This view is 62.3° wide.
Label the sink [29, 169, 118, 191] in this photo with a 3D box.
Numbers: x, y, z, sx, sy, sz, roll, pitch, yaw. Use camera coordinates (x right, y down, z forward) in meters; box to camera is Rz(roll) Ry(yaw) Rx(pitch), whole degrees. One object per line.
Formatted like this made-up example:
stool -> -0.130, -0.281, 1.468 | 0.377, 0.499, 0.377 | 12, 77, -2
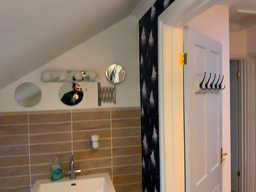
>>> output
sink -> -0.410, 0.740, 1.600 | 0.610, 0.140, 0.450 | -2, 2, -14
